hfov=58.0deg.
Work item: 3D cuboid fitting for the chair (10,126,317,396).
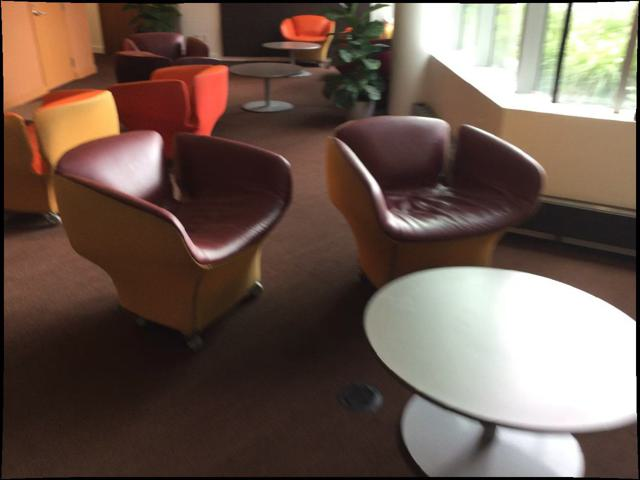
[{"bbox_3d":[-0.599,0.010,2.520,0.898,0.721,0.830,12,28,21],"label":"chair"}]

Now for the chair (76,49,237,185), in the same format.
[{"bbox_3d":[-1.197,-0.992,4.490,0.858,0.802,0.920,3,26,5],"label":"chair"}]

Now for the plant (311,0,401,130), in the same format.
[{"bbox_3d":[0.349,-1.764,5.680,0.788,1.142,0.800,3,26,5],"label":"plant"}]

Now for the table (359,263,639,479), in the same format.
[{"bbox_3d":[0.579,0.471,1.800,0.888,0.401,0.880,2,26,5],"label":"table"}]

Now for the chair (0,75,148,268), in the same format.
[{"bbox_3d":[-1.736,-0.471,3.480,0.888,0.802,0.960,8,27,14],"label":"chair"}]

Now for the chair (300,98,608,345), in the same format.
[{"bbox_3d":[0.529,-0.160,2.760,1.068,0.781,0.890,-7,27,-15],"label":"chair"}]
